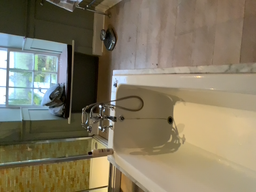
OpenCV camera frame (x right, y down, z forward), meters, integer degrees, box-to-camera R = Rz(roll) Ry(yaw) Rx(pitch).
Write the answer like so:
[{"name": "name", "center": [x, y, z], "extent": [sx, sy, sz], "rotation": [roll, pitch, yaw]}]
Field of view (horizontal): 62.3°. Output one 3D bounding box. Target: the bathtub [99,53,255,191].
[{"name": "bathtub", "center": [0.490, 0.280, 1.420], "extent": [1.870, 0.620, 0.950], "rotation": [8, 95, 59]}]
